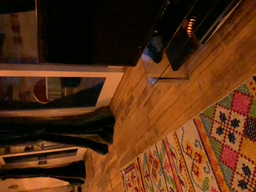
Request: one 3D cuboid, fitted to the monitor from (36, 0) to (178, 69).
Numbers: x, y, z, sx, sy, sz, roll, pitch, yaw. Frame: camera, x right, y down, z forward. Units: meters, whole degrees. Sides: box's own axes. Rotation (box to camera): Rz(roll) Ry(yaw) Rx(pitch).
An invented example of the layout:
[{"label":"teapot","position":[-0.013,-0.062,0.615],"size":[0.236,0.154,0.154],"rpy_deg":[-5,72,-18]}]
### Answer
[{"label":"monitor","position":[-0.070,-0.490,1.000],"size":[1.080,0.670,0.060],"rpy_deg":[122,140,-53]}]
